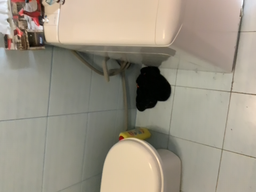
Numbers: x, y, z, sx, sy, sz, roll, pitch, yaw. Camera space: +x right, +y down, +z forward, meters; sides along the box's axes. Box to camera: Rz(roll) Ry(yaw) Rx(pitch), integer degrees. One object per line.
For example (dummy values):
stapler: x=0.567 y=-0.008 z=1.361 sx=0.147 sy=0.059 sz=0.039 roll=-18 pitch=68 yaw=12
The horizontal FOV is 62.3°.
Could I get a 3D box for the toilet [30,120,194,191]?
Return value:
toilet: x=-0.020 y=0.550 z=1.120 sx=0.360 sy=0.860 sz=0.700 roll=10 pitch=97 yaw=35
